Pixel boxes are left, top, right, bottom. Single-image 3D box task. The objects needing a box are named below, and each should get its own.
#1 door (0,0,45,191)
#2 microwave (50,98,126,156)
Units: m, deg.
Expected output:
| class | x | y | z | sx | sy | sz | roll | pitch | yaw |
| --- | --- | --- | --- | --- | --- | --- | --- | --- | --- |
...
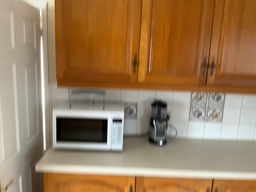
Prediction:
| class | x | y | z | sx | sy | sz | roll | pitch | yaw |
| --- | --- | --- | --- | --- | --- | --- | --- | --- | --- |
| door | -0.770 | 0.330 | 1.510 | 0.060 | 1.930 | 0.820 | 2 | 10 | -4 |
| microwave | -0.280 | 0.220 | 1.660 | 0.500 | 0.310 | 0.420 | 3 | 10 | 1 |
